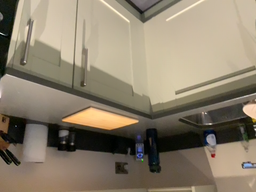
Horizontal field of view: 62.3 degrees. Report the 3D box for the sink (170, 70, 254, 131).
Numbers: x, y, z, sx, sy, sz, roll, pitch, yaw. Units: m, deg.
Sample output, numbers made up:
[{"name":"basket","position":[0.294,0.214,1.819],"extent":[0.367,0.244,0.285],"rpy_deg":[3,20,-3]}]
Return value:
[{"name":"sink","position":[0.550,0.060,1.390],"extent":[0.350,0.220,0.440],"rpy_deg":[-19,152,37]}]
